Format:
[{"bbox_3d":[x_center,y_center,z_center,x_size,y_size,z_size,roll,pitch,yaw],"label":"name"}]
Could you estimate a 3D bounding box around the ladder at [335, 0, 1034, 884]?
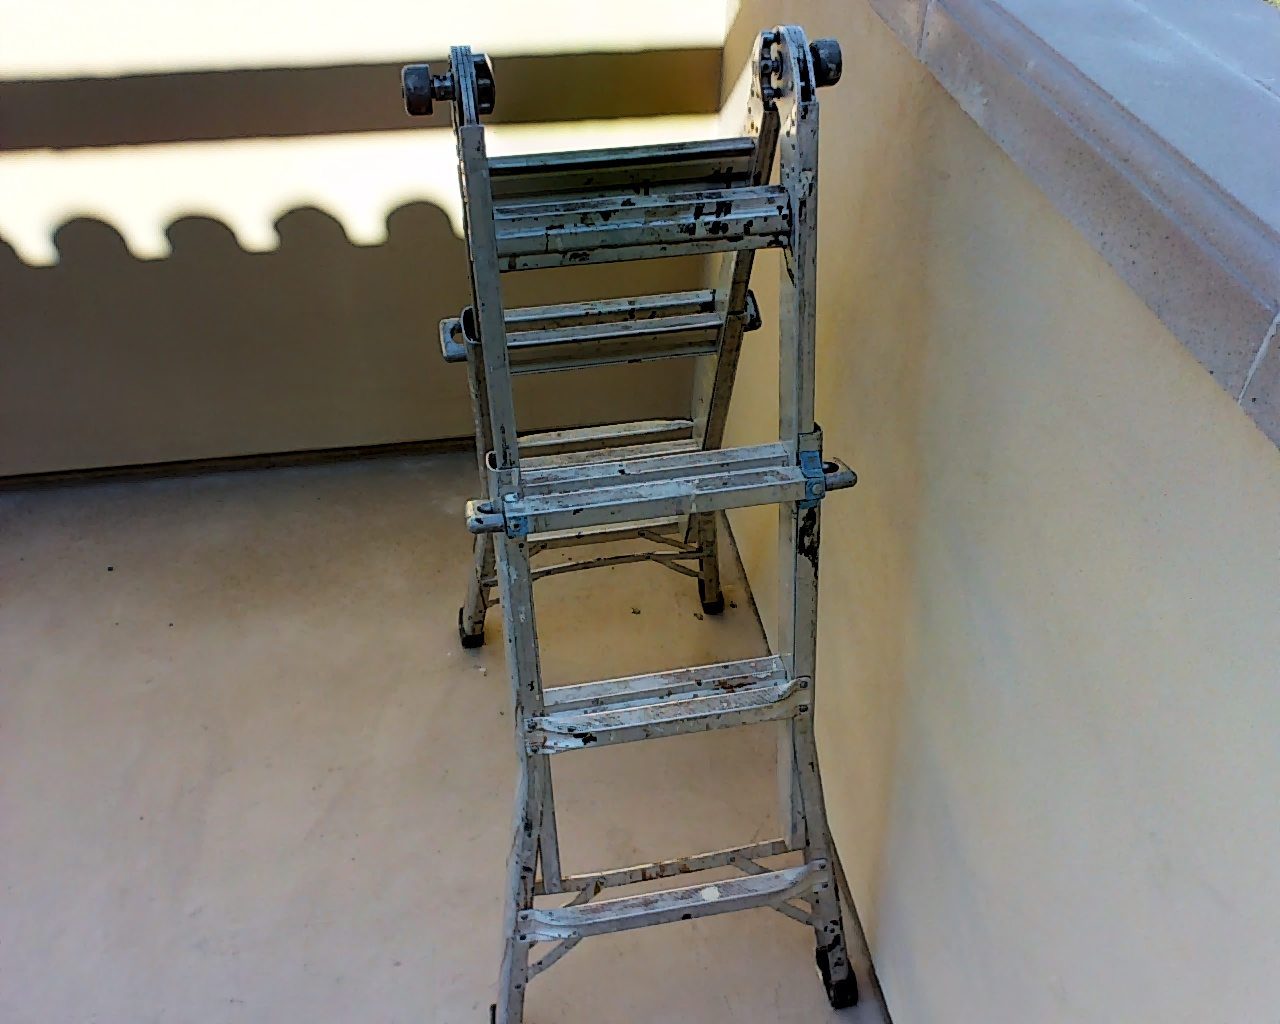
[{"bbox_3d":[-0.040,0.020,1.550,0.530,1.350,0.680,-5,61,-7],"label":"ladder"}]
